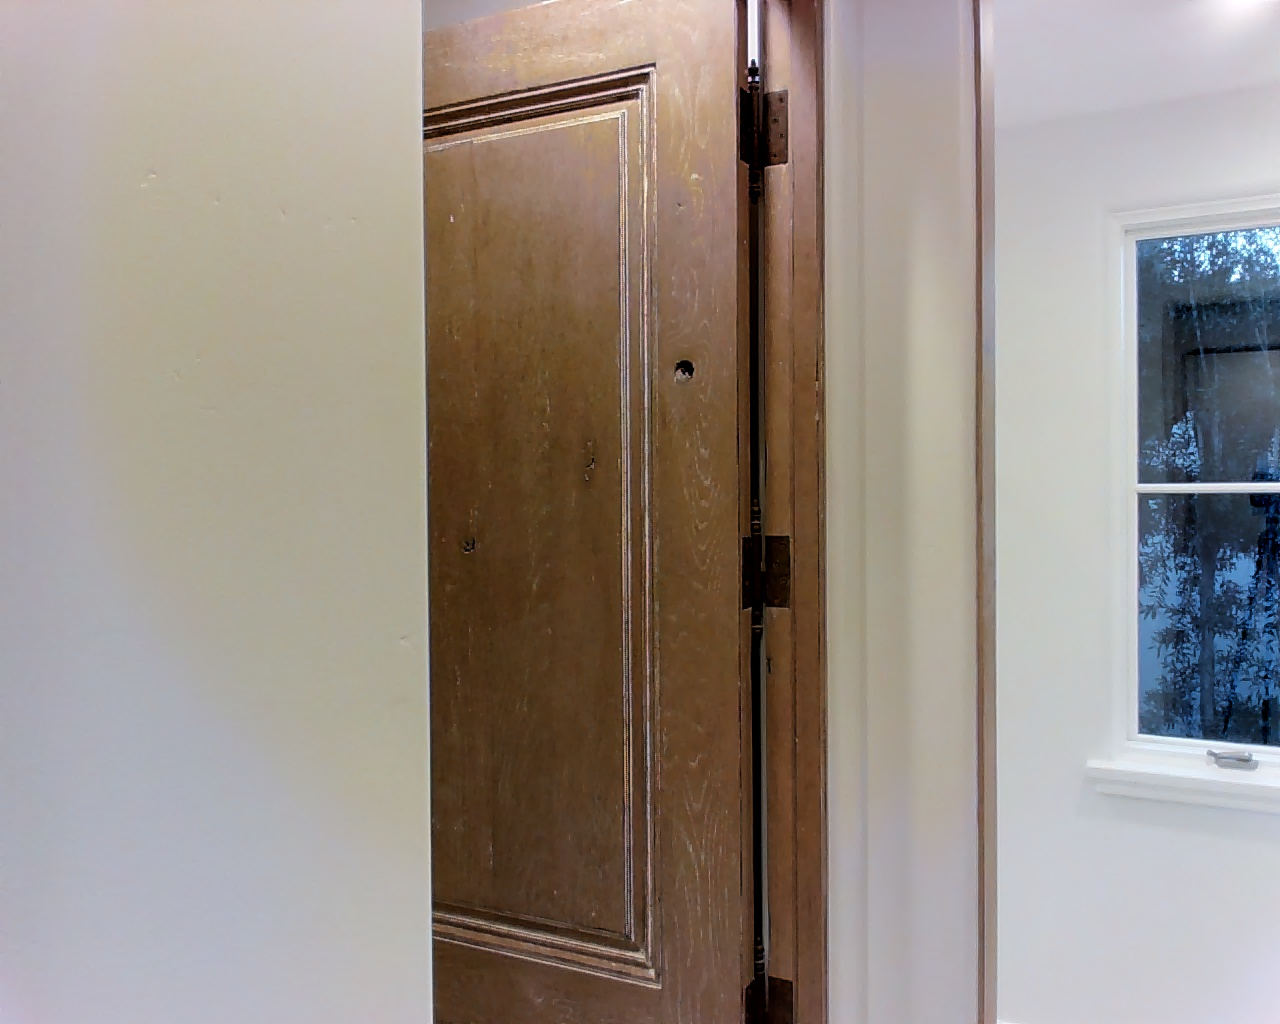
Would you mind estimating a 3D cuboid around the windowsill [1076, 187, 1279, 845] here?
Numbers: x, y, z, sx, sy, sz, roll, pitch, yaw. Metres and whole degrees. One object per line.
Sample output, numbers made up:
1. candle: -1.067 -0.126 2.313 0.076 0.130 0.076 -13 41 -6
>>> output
1. windowsill: 1.609 0.010 2.750 0.880 1.631 0.180 -1 0 31
